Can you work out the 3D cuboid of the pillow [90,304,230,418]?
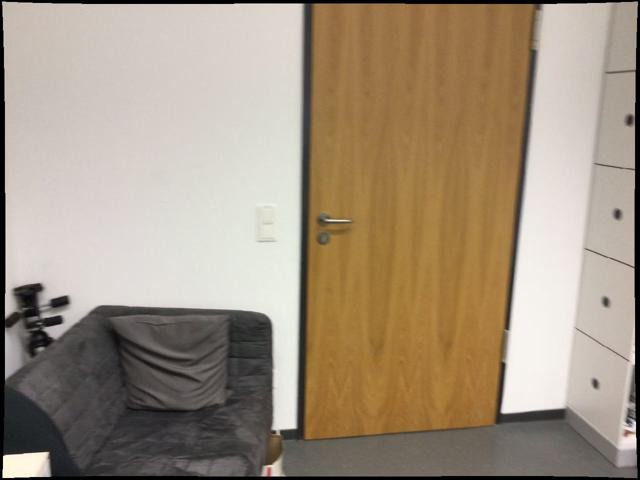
[{"bbox_3d":[-0.589,0.450,2.210,0.480,0.330,0.250,-1,14,-10],"label":"pillow"}]

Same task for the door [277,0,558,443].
[{"bbox_3d":[0.380,-0.070,2.490,1.099,1.962,0.100,-1,14,-11],"label":"door"}]

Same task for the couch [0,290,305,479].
[{"bbox_3d":[-0.559,0.721,1.850,0.829,0.681,1.330,3,14,6],"label":"couch"}]
